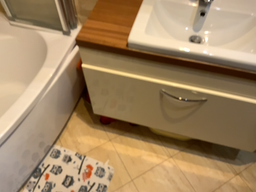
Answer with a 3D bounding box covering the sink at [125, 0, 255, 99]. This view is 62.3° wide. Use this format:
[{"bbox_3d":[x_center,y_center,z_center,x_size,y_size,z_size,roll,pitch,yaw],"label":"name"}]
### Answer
[{"bbox_3d":[0.290,-0.250,0.890,0.520,0.180,0.390,13,56,7],"label":"sink"}]
